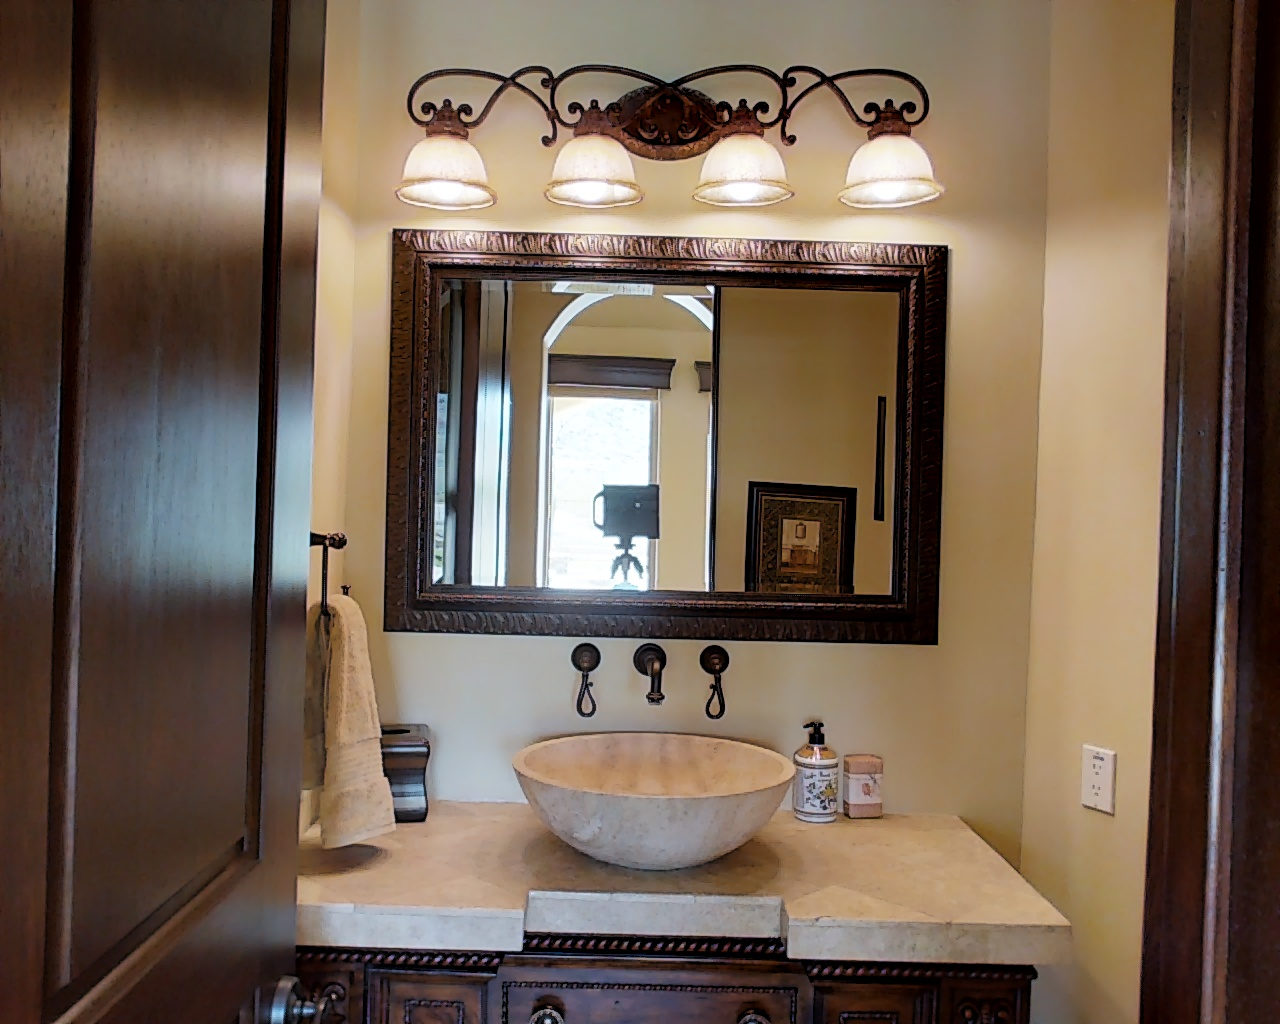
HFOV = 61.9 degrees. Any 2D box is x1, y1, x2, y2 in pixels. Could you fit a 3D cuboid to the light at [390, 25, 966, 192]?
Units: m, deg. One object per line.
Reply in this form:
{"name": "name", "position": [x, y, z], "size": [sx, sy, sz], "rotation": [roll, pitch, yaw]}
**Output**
{"name": "light", "position": [0.070, -0.760, 2.030], "size": [1.050, 0.230, 0.160], "rotation": [1, 0, -1]}
